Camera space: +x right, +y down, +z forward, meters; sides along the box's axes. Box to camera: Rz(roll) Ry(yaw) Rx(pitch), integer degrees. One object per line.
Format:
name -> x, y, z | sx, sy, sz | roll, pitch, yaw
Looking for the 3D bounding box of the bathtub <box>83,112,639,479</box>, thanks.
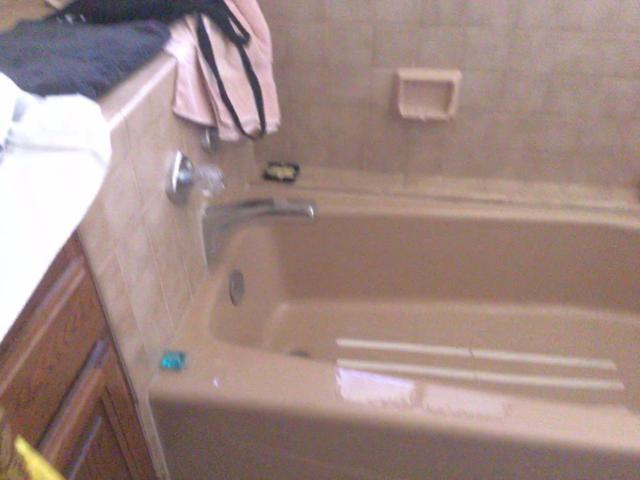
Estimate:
bathtub -> 0.560, 0.170, 1.320 | 1.780, 0.540, 0.830 | 4, 38, 7
